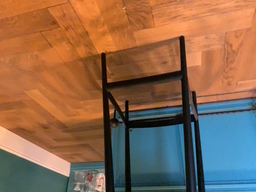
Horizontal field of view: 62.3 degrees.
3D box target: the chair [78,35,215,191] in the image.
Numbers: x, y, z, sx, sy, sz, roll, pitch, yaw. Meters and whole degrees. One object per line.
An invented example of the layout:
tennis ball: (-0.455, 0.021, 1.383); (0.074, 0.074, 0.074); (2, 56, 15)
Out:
chair: (0.120, 0.270, 1.000); (0.450, 0.890, 0.530); (-8, 147, 15)
